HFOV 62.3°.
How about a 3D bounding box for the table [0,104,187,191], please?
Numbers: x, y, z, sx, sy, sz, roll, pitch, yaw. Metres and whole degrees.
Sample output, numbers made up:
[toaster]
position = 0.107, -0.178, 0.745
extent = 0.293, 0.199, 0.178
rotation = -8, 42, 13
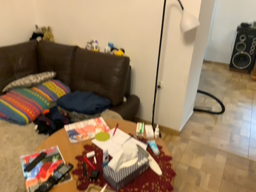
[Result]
[table]
position = -0.150, 0.600, 1.420
extent = 0.800, 0.630, 0.820
rotation = 15, 29, 23

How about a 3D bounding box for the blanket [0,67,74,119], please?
[blanket]
position = -1.010, -0.070, 2.210
extent = 0.580, 0.190, 0.640
rotation = 14, 29, 21
